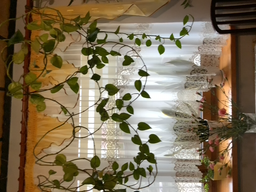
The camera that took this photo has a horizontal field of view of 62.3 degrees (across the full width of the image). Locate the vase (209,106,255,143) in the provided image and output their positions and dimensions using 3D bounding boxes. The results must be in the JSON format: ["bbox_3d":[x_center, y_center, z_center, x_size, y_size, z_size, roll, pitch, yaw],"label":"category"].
[{"bbox_3d":[0.770,0.180,1.390,0.310,0.370,0.210,68,-157,-86],"label":"vase"}]
